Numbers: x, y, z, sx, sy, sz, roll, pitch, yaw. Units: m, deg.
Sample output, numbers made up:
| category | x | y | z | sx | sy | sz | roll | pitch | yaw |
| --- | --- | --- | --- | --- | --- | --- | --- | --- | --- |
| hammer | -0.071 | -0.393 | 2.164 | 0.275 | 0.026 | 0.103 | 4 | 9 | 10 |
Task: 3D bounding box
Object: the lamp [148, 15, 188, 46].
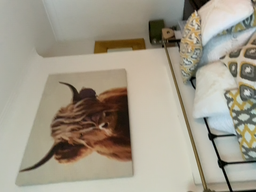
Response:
| category | x | y | z | sx | sy | sz | roll | pitch | yaw |
| --- | --- | --- | --- | --- | --- | --- | --- | --- | --- |
| lamp | 0.500 | -0.850 | 2.750 | 0.230 | 0.460 | 0.290 | 85 | -179 | -47 |
